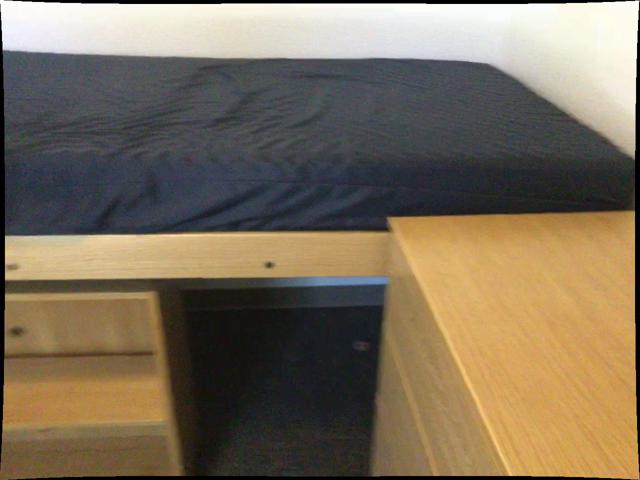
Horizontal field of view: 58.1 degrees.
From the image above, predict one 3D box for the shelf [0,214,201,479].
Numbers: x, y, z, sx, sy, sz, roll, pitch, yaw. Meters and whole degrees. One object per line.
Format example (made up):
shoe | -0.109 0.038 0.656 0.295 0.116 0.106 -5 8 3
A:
shelf | -0.839 0.361 1.510 0.968 0.771 0.360 -1 30 -7
